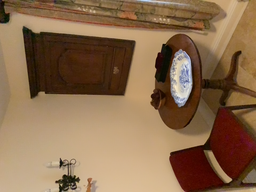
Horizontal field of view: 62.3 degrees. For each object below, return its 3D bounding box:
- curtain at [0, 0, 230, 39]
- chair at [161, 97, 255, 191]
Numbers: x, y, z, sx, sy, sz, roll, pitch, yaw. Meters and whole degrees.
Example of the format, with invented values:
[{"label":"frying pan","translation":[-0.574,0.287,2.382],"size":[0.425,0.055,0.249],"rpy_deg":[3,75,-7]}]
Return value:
[{"label":"curtain","translation":[-0.060,-0.710,1.720],"size":[0.250,1.820,0.250],"rpy_deg":[-108,24,-47]},{"label":"chair","translation":[0.780,0.400,1.660],"size":[0.520,0.780,0.570],"rpy_deg":[-108,25,-49]}]
